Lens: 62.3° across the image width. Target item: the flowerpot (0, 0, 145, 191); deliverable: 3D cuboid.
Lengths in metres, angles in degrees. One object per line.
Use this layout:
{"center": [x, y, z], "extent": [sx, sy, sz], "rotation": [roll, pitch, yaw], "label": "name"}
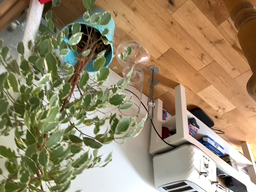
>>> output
{"center": [-0.330, -0.040, 0.840], "extent": [0.550, 1.290, 0.460], "rotation": [36, 129, -23], "label": "flowerpot"}
